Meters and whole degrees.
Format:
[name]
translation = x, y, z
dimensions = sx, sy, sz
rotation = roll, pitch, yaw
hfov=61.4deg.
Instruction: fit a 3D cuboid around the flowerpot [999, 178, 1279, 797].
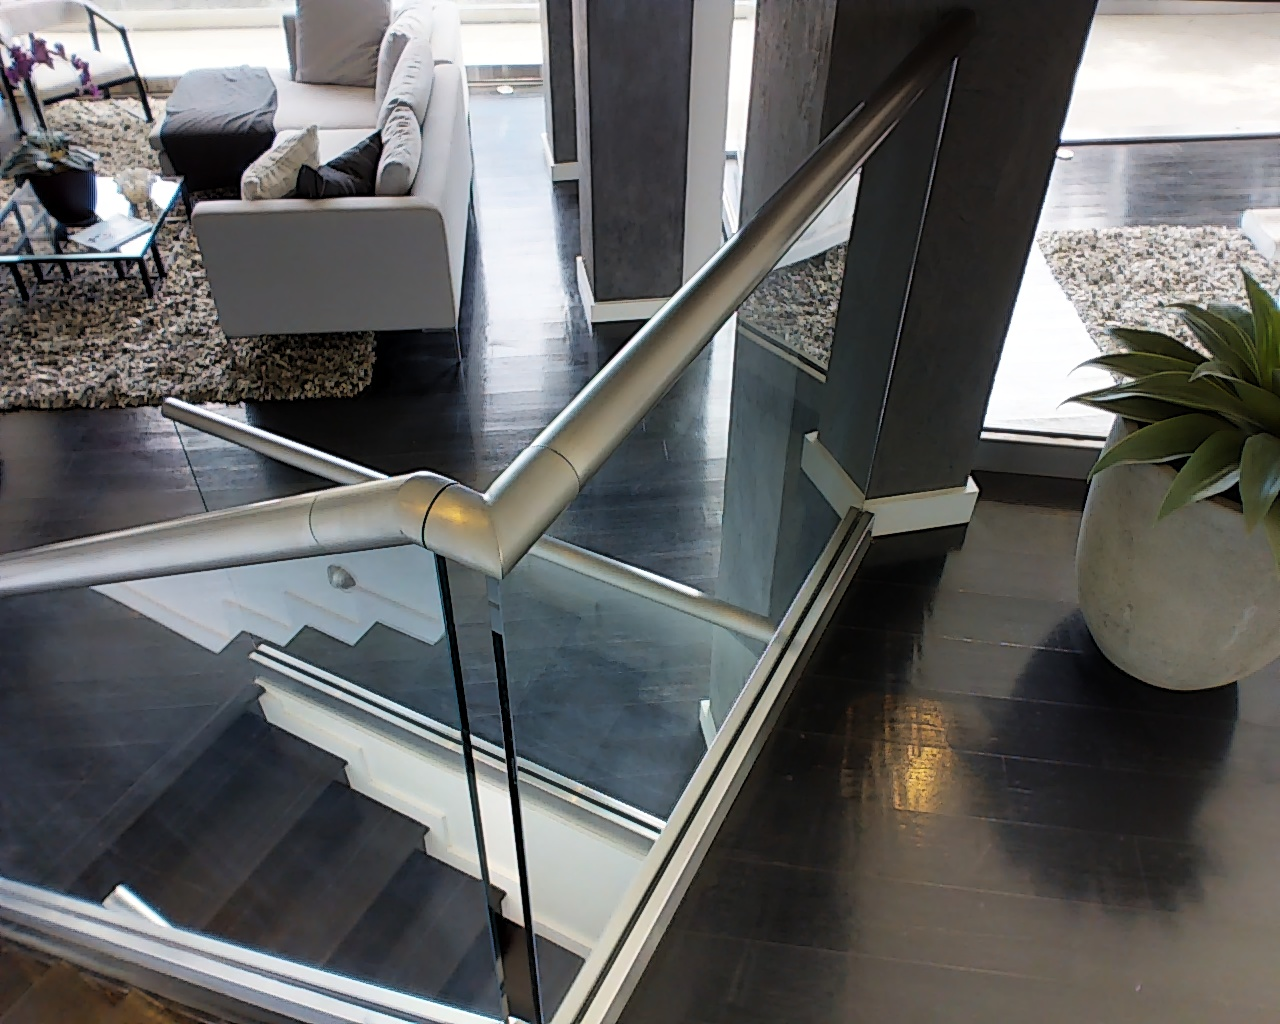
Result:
[flowerpot]
translation = 1.040, -0.030, 1.830
dimensions = 0.660, 0.760, 0.650
rotation = 9, 43, 10
